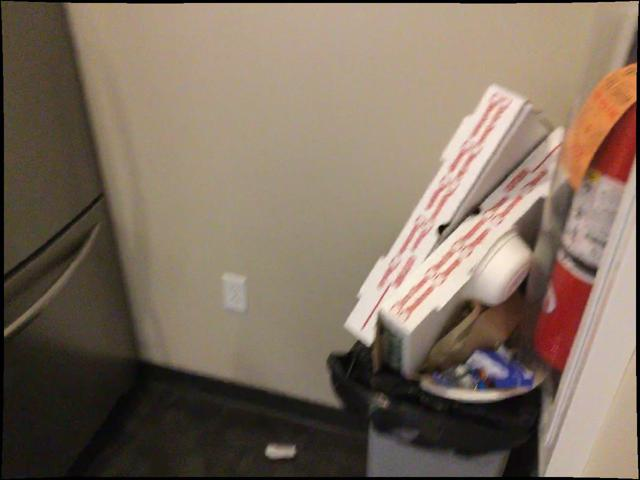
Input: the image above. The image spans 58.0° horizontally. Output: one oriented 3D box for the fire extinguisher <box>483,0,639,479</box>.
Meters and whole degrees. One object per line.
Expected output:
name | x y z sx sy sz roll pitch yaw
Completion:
fire extinguisher | 0.389 -0.050 0.770 0.170 0.711 0.420 12 36 17
